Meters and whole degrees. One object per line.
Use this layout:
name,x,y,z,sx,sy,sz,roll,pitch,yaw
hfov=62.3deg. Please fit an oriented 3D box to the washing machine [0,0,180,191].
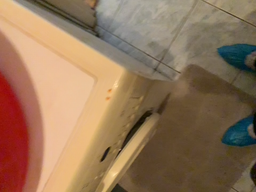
washing machine,-0.250,0.090,0.820,0.600,0.840,0.650,33,101,12
